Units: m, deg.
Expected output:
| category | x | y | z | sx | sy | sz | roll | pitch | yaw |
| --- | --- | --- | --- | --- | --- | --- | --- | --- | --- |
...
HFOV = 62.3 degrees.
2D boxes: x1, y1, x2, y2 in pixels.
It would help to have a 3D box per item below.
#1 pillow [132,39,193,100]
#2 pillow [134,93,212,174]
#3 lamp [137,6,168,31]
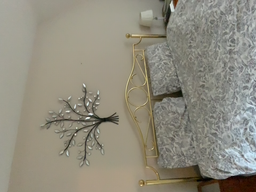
| category | x | y | z | sx | sy | sz | roll | pitch | yaw |
| --- | --- | --- | --- | --- | --- | --- | --- | --- | --- |
| pillow | 0.390 | -0.330 | 2.510 | 0.700 | 0.330 | 0.130 | 53 | 160 | 20 |
| pillow | 0.440 | 0.360 | 2.160 | 0.720 | 0.390 | 0.140 | 52 | 159 | 18 |
| lamp | 0.340 | -1.090 | 2.990 | 0.220 | 0.370 | 0.230 | 101 | 166 | -60 |
